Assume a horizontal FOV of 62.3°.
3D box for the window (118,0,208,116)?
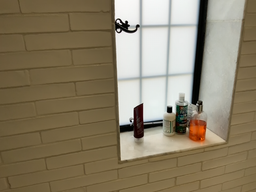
[{"bbox_3d":[0.160,-0.360,0.970,0.410,0.920,0.050,-5,19,-13],"label":"window"}]
